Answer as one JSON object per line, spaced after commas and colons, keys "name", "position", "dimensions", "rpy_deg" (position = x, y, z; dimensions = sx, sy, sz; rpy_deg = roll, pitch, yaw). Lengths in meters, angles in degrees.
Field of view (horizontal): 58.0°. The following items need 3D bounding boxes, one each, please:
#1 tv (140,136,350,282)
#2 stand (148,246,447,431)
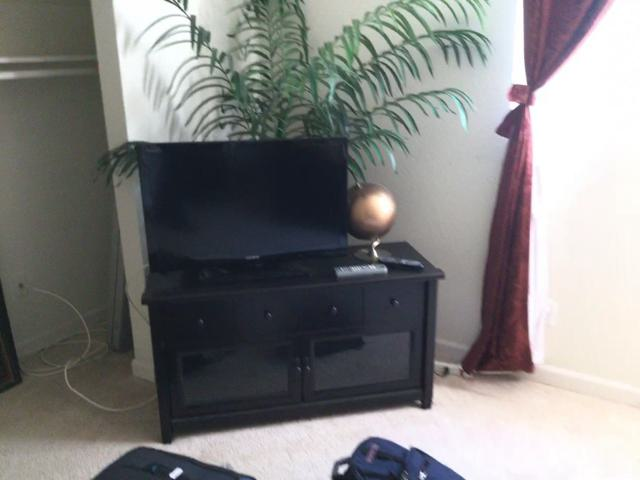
{"name": "tv", "position": [-0.270, -0.130, 2.200], "dimensions": [0.730, 0.490, 0.180], "rpy_deg": [-4, 10, -8]}
{"name": "stand", "position": [-0.100, 0.380, 2.390], "dimensions": [1.090, 0.640, 0.480], "rpy_deg": [2, 3, -8]}
